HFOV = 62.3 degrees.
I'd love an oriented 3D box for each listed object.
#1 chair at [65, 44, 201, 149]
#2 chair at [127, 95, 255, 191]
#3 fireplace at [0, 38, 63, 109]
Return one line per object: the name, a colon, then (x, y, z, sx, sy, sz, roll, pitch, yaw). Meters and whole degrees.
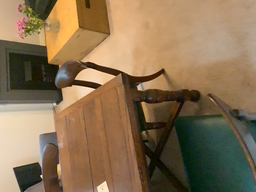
chair: (0.040, 0.030, 1.560, 0.470, 0.800, 0.550, -23, 73, 49)
chair: (0.510, 0.280, 0.980, 0.560, 0.800, 0.460, -21, 74, 50)
fireplace: (-1.740, -0.380, 3.720, 0.210, 1.020, 1.160, -23, 72, 49)
